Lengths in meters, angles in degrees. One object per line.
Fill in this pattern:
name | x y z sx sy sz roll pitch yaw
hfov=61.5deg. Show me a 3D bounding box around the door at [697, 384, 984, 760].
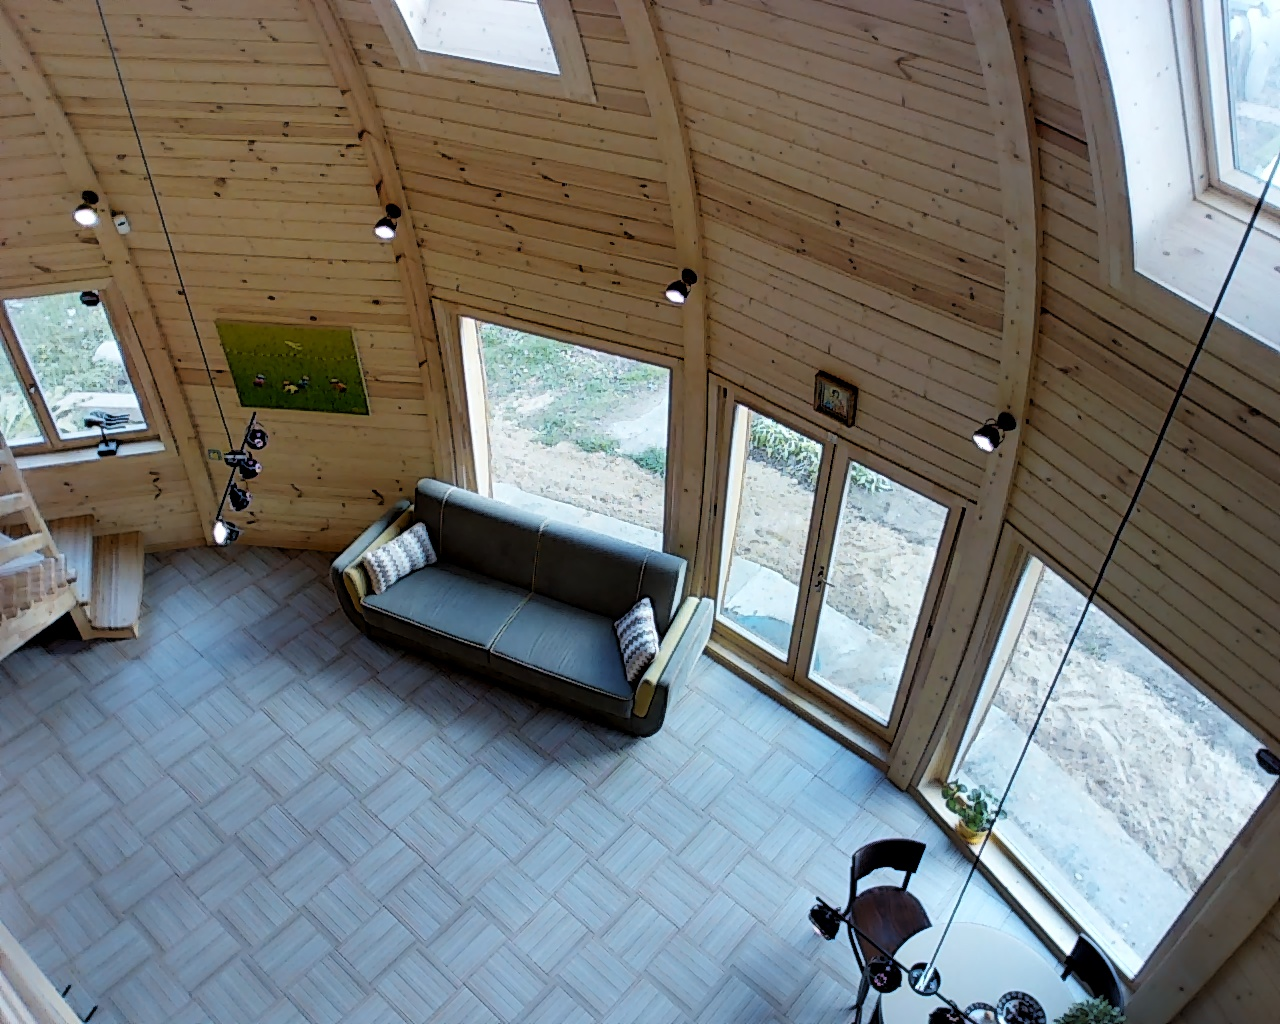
door | 1.070 0.410 6.460 1.550 2.060 0.180 30 49 27
